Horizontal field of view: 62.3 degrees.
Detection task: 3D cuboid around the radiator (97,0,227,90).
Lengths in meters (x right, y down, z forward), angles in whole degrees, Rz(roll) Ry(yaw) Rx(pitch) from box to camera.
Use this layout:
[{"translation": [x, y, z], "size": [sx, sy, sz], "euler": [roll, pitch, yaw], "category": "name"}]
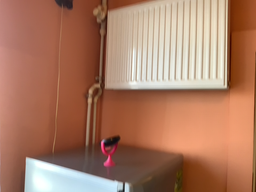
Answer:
[{"translation": [0.160, -0.310, 1.230], "size": [0.730, 0.540, 0.130], "euler": [1, -3, 32], "category": "radiator"}]
